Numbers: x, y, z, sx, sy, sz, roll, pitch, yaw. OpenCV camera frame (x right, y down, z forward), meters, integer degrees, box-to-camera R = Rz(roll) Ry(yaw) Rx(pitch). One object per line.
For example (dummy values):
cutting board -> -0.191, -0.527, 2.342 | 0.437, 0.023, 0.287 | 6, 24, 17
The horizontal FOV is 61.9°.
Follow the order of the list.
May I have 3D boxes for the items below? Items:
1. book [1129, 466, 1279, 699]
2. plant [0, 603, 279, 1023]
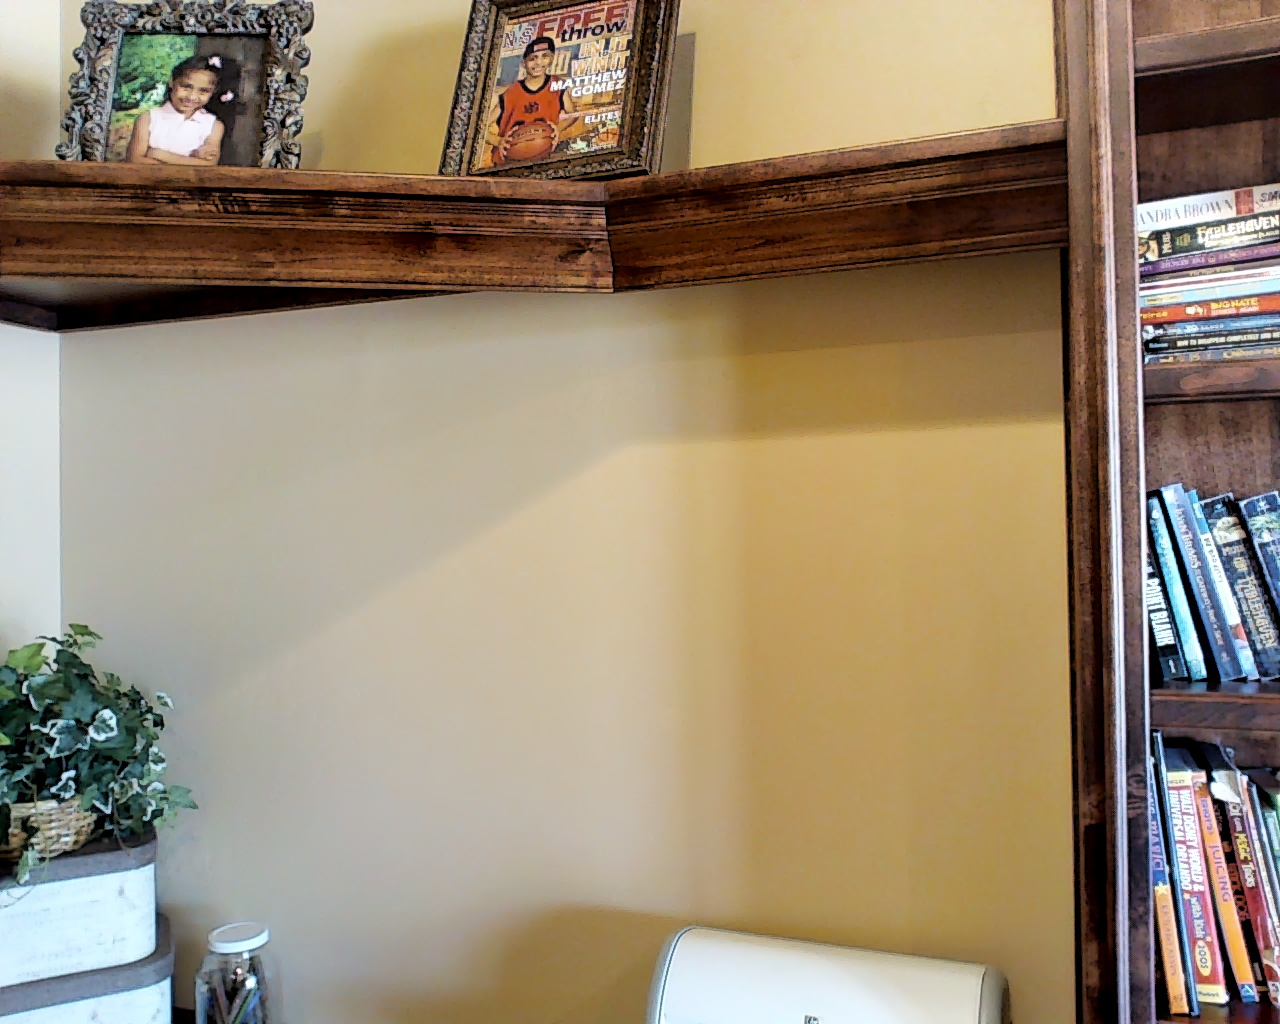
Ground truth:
book -> 0.740, 0.070, 1.110 | 0.410, 0.230, 0.190 | -1, -1, 22
plant -> -0.880, 0.490, 1.520 | 0.470, 0.680, 0.520 | -1, -1, 21
